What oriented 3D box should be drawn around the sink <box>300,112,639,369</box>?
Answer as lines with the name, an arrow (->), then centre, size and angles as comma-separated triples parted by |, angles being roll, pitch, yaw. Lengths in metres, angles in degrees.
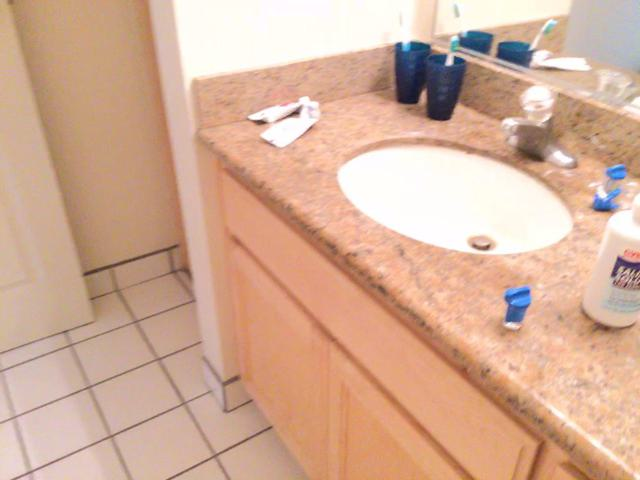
sink -> 0.240, -0.040, 1.020 | 0.380, 0.180, 0.420 | -18, 39, -29
